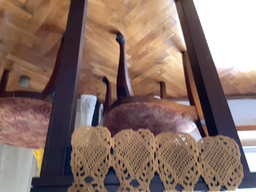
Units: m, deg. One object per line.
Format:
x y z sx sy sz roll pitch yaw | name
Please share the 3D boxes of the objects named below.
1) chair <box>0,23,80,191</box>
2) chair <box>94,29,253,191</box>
-0.510 0.150 0.900 0.500 0.870 0.400 2 148 -7 | chair
0.130 0.180 1.000 0.510 0.850 0.410 6 147 -14 | chair
